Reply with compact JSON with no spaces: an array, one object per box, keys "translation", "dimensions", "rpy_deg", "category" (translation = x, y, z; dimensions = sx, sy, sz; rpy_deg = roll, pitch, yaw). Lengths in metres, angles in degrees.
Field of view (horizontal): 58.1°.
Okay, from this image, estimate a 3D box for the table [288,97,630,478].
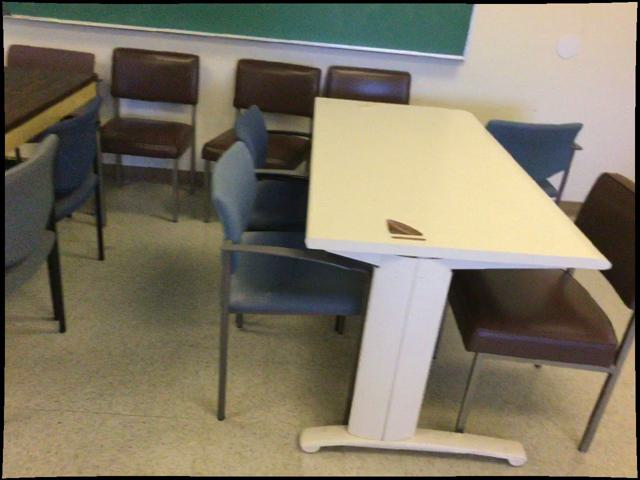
[{"translation":[0.319,0.020,2.270],"dimensions":[0.808,0.742,1.561],"rpy_deg":[4,27,-3],"category":"table"}]
